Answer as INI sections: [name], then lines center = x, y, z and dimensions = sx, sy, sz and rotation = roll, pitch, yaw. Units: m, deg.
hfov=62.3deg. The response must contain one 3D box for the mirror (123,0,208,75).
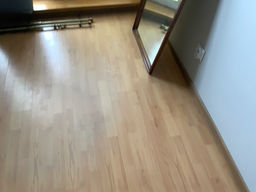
[mirror]
center = 0.330, -0.920, 1.550
dimensions = 0.090, 1.320, 0.850
rotation = -2, 52, -26
